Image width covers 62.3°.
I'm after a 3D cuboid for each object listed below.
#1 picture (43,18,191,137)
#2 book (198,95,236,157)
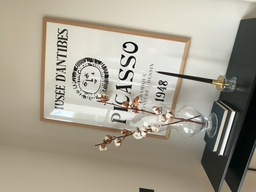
[{"bbox_3d":[-0.090,-0.090,1.260,0.030,0.800,0.590,-83,2,-76],"label":"picture"},{"bbox_3d":[0.490,0.160,1.200,0.230,0.060,0.270,-83,2,-73],"label":"book"}]
